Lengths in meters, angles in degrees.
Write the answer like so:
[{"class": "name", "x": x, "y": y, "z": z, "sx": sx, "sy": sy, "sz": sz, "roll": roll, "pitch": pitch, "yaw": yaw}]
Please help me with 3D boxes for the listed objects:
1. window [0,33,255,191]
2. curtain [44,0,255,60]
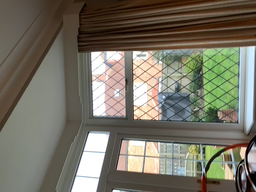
[{"class": "window", "x": 0.190, "y": 0.500, "z": 1.950, "sx": 0.870, "sy": 2.060, "sz": 2.410, "roll": 78, "pitch": -163, "yaw": -45}, {"class": "curtain", "x": 0.550, "y": -0.720, "z": 2.090, "sx": 0.310, "sy": 2.840, "sz": 0.600, "roll": 21, "pitch": -110, "yaw": -77}]
